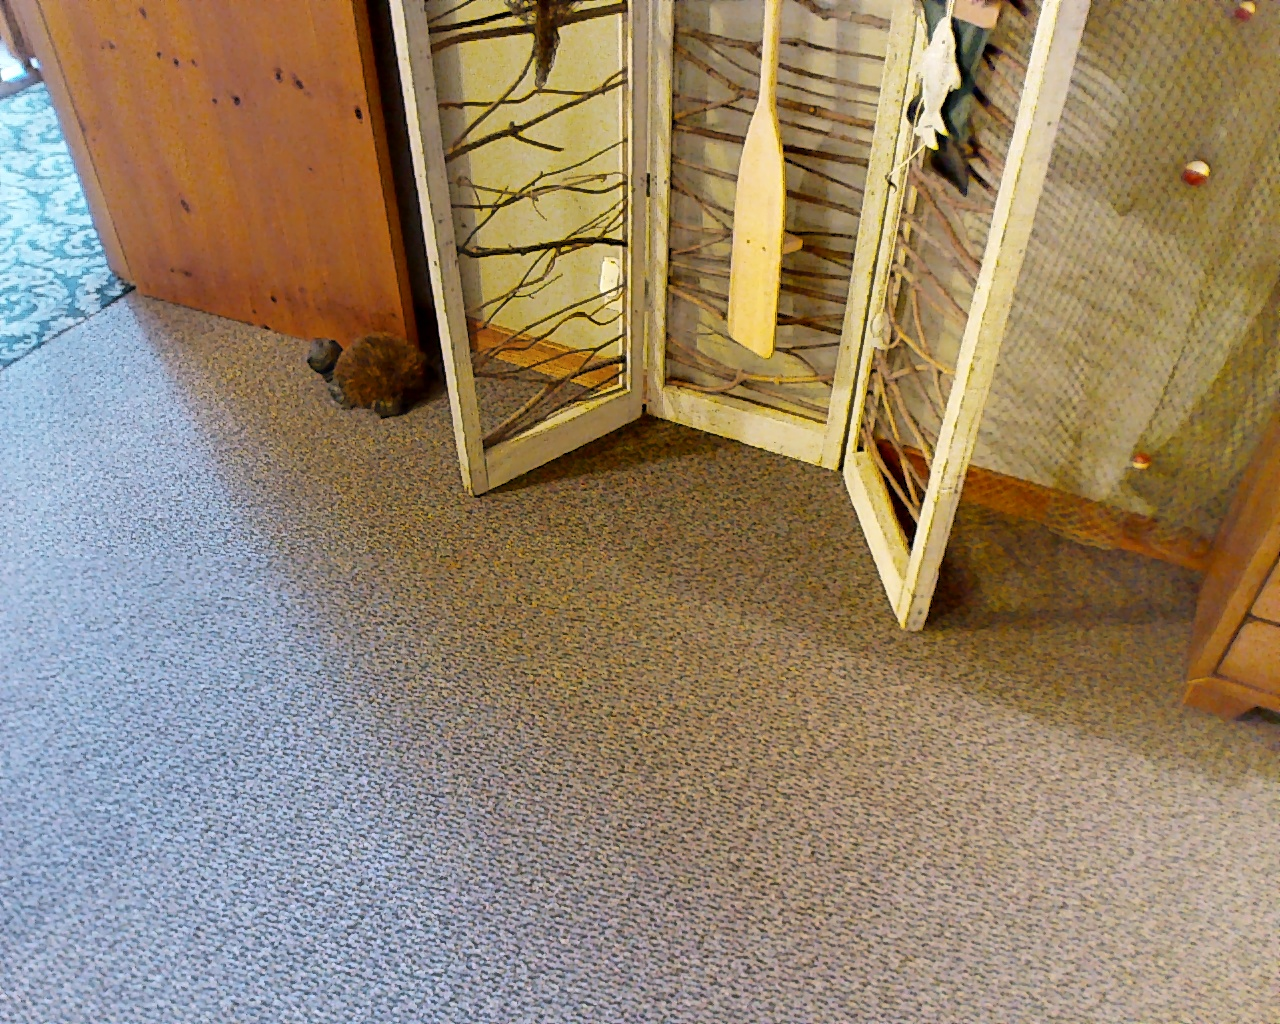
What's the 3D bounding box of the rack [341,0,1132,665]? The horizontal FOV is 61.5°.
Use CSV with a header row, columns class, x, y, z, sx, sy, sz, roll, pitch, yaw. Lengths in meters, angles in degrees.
class,x,y,z,sx,sy,sz,roll,pitch,yaw
rack,0.150,-0.730,1.780,1.130,1.860,0.540,19,45,18
